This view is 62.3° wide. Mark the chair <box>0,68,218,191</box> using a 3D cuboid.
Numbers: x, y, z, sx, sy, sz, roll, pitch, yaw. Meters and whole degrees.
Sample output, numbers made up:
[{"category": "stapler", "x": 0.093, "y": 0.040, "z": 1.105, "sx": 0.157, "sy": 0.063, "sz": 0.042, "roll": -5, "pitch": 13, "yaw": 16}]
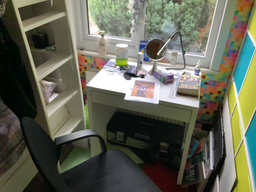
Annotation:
[{"category": "chair", "x": -0.120, "y": 0.480, "z": 1.070, "sx": 0.640, "sy": 0.960, "sz": 0.610, "roll": -21, "pitch": 39, "yaw": -32}]
